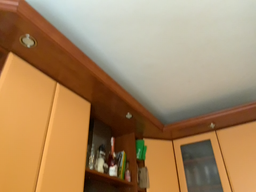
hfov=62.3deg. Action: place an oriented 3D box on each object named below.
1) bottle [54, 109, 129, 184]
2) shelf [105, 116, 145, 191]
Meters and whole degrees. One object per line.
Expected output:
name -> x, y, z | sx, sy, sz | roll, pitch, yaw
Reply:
bottle -> -0.240, 0.410, 1.610 | 0.280, 0.390, 0.490 | -19, -37, 25
shelf -> -0.030, 0.710, 1.760 | 0.310, 1.070, 0.120 | -19, -37, 25
